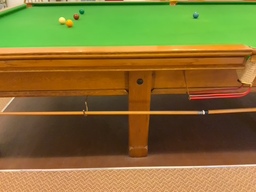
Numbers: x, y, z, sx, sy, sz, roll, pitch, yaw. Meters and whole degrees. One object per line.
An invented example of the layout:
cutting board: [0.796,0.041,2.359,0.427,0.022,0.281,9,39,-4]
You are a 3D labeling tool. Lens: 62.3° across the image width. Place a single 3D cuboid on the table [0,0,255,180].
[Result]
table: [0.490,-0.350,2.040,3.790,0.870,1.990,-1,30,-2]
